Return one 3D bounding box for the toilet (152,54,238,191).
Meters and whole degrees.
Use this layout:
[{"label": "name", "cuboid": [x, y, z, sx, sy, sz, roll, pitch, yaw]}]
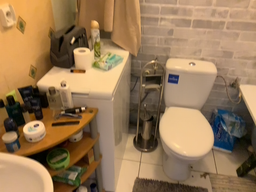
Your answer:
[{"label": "toilet", "cuboid": [0.410, 0.190, 1.550, 0.360, 0.750, 0.650, 6, 35, 7]}]
